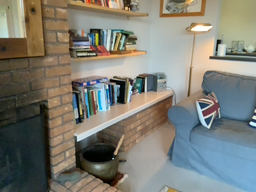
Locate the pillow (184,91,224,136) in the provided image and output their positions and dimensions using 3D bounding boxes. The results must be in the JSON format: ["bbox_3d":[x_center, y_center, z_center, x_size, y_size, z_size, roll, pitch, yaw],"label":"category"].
[{"bbox_3d":[0.720,0.160,2.010,0.160,0.320,0.290,33,31,28],"label":"pillow"}]

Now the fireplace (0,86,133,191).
[{"bbox_3d":[-0.750,0.510,1.260,1.070,0.790,1.200,11,19,34],"label":"fireplace"}]
